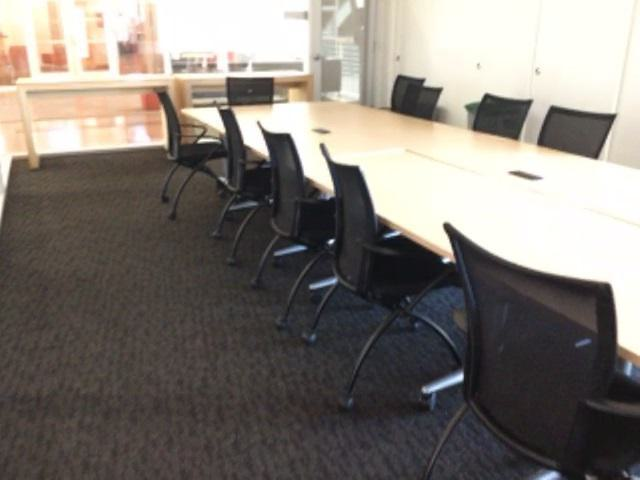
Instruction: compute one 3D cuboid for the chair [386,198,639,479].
[{"bbox_3d":[0.690,0.370,1.510,0.730,0.800,0.610,-5,21,-26],"label":"chair"}]
